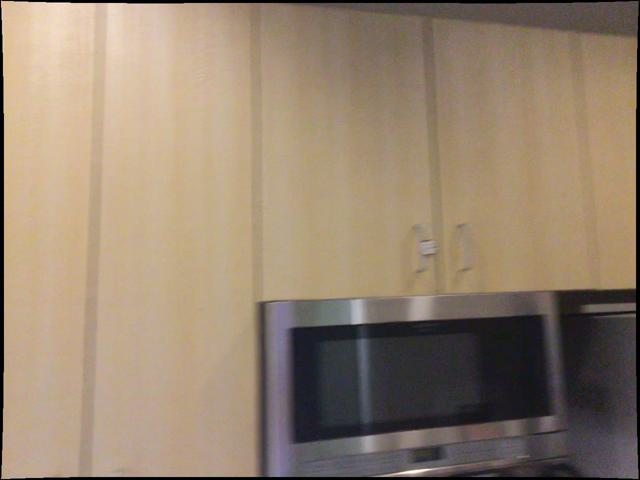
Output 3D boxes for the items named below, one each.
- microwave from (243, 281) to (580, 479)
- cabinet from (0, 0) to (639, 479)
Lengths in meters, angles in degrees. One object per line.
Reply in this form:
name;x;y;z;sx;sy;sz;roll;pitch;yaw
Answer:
microwave;0.160;0.281;1.260;0.599;0.341;0.400;-2;-5;-13
cabinet;0.160;0.000;1.280;2.784;1.062;0.280;-2;-5;-13
